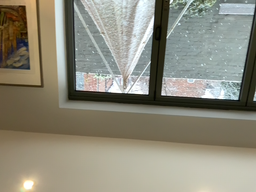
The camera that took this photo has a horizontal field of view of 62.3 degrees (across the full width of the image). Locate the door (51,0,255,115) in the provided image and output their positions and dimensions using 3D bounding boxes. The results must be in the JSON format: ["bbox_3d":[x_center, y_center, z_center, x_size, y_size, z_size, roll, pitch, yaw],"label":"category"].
[{"bbox_3d":[0.780,-0.960,2.110,3.020,2.270,0.270,3,-164,1],"label":"door"}]
